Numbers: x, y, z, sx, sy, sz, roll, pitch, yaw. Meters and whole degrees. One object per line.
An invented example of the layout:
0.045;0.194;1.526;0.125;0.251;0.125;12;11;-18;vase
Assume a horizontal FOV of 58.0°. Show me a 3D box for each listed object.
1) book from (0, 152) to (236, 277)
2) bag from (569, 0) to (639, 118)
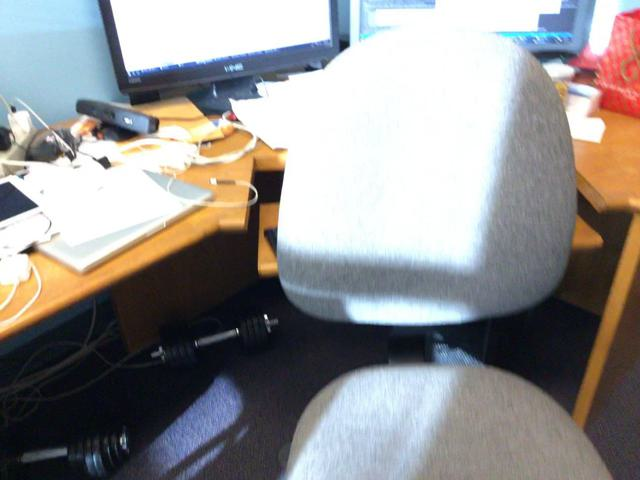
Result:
-0.390;-0.070;1.130;0.290;0.040;0.340;21;36;31;book
0.820;-0.470;1.460;0.260;0.240;0.220;-26;40;-37;bag
